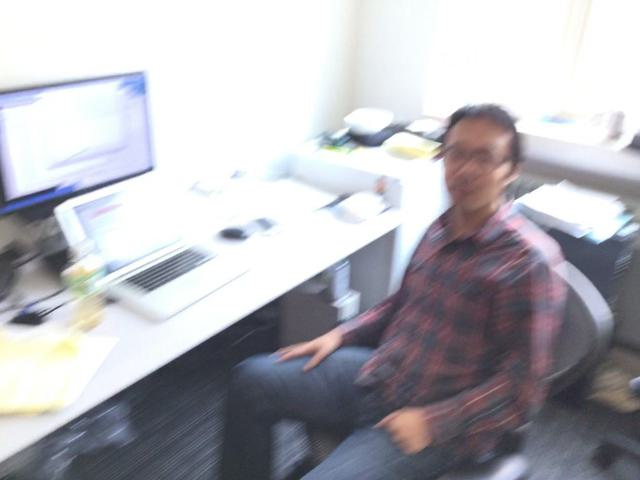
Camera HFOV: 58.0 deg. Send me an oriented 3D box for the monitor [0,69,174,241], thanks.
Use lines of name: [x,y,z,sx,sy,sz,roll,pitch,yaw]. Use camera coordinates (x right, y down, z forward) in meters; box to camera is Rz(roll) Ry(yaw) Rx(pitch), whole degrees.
monitor: [-0.670,-0.260,1.620,0.150,0.360,0.500,19,30,33]

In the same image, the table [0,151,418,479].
table: [-0.460,0.340,1.830,0.740,0.790,1.650,19,30,33]
